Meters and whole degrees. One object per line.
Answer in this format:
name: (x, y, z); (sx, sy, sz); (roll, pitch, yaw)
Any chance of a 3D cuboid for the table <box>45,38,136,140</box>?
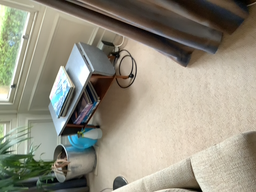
table: (-0.390, -0.030, 1.990); (0.840, 0.450, 0.400); (-57, 48, 31)
